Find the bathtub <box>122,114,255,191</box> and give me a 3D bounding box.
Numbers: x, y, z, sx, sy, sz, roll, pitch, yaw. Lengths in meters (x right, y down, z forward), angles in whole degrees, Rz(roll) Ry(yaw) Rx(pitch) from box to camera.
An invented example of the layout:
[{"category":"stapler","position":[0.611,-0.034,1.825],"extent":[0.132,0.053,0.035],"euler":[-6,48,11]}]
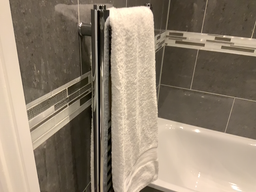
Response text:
[{"category":"bathtub","position":[0.860,0.720,1.340],"extent":[1.670,0.600,0.690],"euler":[12,26,18]}]
